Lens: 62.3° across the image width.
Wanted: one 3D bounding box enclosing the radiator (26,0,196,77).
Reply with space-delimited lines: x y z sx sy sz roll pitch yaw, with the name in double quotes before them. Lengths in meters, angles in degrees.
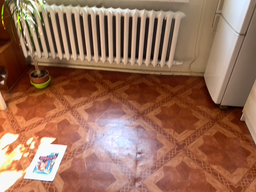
"radiator" -0.180 -0.610 2.270 1.610 0.690 0.200 5 39 4
